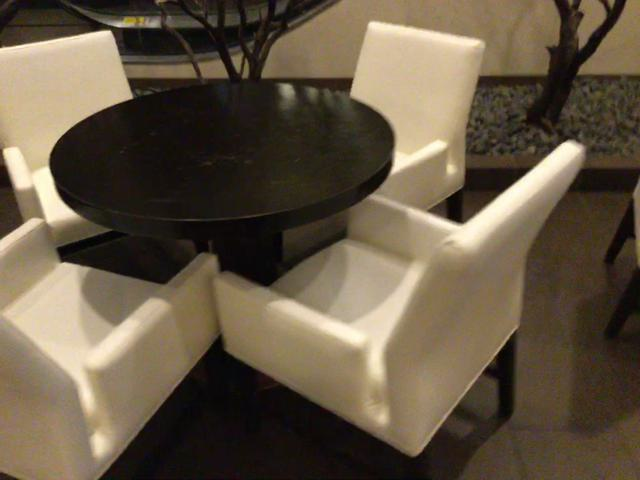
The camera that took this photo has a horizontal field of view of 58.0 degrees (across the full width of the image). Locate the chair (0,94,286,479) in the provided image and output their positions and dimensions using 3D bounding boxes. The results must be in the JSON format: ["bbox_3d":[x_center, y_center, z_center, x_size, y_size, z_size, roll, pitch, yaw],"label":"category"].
[{"bbox_3d":[-0.630,0.210,1.370,0.780,0.860,0.760,6,34,18],"label":"chair"}]

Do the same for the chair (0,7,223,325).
[{"bbox_3d":[-0.870,-0.320,2.150,0.640,0.850,0.690,-23,36,-25],"label":"chair"}]

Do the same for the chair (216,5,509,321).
[{"bbox_3d":[0.180,-0.340,2.150,0.680,0.830,0.720,22,41,36],"label":"chair"}]
